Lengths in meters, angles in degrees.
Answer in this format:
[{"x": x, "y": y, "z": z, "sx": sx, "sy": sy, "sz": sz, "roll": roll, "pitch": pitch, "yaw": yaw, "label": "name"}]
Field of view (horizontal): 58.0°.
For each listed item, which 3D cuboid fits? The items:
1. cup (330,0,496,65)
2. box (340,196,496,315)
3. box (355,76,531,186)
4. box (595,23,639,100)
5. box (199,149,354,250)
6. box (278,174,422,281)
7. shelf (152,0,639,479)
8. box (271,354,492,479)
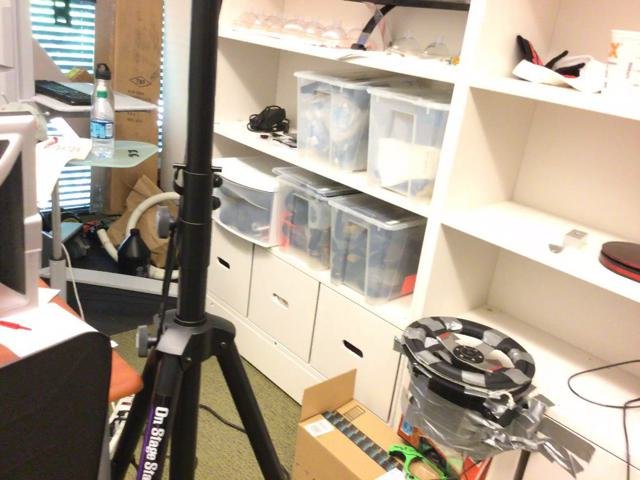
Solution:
[{"x": 0.280, "y": -0.730, "z": 1.880, "sx": 0.120, "sy": 0.250, "sz": 0.570, "roll": -8, "pitch": 23, "yaw": -41, "label": "cup"}, {"x": 0.300, "y": 0.030, "z": 1.790, "sx": 0.350, "sy": 0.250, "sz": 0.280, "roll": -8, "pitch": 23, "yaw": -41, "label": "box"}, {"x": 0.350, "y": -0.320, "z": 1.670, "sx": 0.340, "sy": 0.240, "sz": 0.320, "roll": -8, "pitch": 23, "yaw": -41, "label": "box"}, {"x": 0.710, "y": -0.390, "z": 1.280, "sx": 0.120, "sy": 0.150, "sz": 0.110, "roll": -8, "pitch": 23, "yaw": -41, "label": "box"}, {"x": -0.180, "y": -0.180, "z": 2.270, "sx": 0.400, "sy": 0.270, "sz": 0.440, "roll": -8, "pitch": 23, "yaw": -41, "label": "box"}, {"x": 0.100, "y": -0.060, "z": 2.010, "sx": 0.340, "sy": 0.260, "sz": 0.320, "roll": -8, "pitch": 23, "yaw": -41, "label": "box"}, {"x": 0.880, "y": -0.020, "z": 1.110, "sx": 0.610, "sy": 2.150, "sz": 3.940, "roll": -8, "pitch": 23, "yaw": -41, "label": "shelf"}, {"x": 0.150, "y": 0.640, "z": 1.690, "sx": 0.280, "sy": 0.340, "sz": 0.560, "roll": -8, "pitch": 23, "yaw": -41, "label": "box"}]
